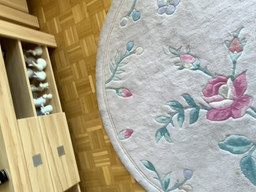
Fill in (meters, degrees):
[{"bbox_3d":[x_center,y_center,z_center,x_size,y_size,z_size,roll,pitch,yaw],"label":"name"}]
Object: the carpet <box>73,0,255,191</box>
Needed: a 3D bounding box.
[{"bbox_3d":[0.460,-0.110,0.980,1.480,0.100,1.490,-11,87,25],"label":"carpet"}]
